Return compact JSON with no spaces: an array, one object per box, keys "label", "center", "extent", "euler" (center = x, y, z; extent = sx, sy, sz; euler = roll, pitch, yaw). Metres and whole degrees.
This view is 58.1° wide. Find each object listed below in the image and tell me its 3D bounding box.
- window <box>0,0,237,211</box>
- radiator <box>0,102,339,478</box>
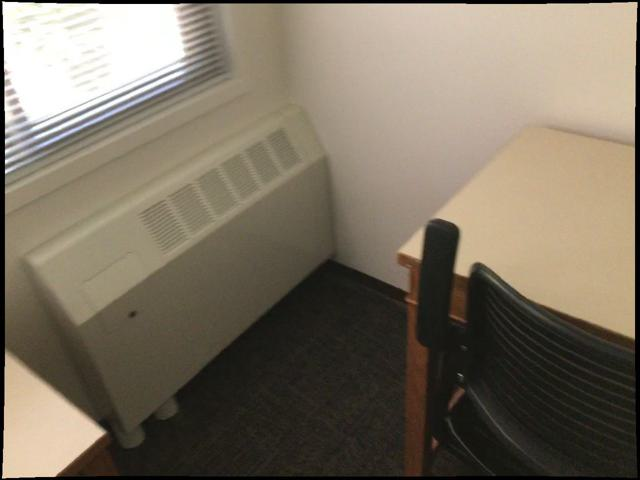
[{"label":"window","center":[-0.658,-0.321,1.230],"extent":[0.190,0.361,1.130],"euler":[21,46,31]},{"label":"radiator","center":[-0.319,0.100,1.700],"extent":[0.200,0.641,0.960],"euler":[21,46,31]}]
